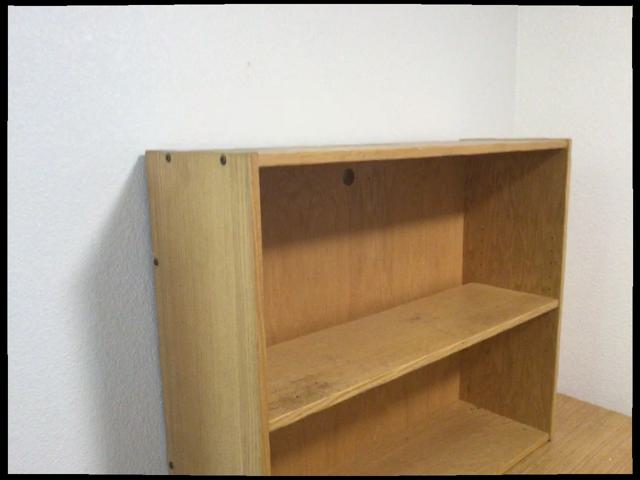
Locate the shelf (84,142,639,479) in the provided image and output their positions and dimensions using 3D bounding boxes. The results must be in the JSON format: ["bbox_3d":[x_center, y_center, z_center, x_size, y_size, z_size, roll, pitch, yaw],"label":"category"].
[{"bbox_3d":[0.150,0.230,1.260,0.969,0.862,0.759,-10,14,-41],"label":"shelf"}]
